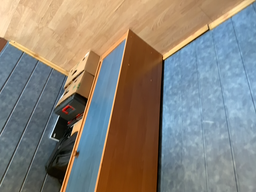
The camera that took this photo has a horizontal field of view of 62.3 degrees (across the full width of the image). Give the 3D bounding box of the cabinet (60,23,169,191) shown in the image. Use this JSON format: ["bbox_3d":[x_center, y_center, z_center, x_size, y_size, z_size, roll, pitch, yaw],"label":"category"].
[{"bbox_3d":[-0.070,0.410,1.340,0.440,1.990,0.440,31,139,-28],"label":"cabinet"}]
